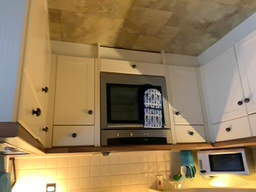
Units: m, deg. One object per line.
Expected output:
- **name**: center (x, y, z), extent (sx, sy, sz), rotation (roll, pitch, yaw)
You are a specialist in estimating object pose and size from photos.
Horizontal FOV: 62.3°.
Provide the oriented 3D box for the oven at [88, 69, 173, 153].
- **oven**: center (-0.030, 0.180, 1.980), extent (0.610, 0.640, 0.560), rotation (2, 163, -19)
